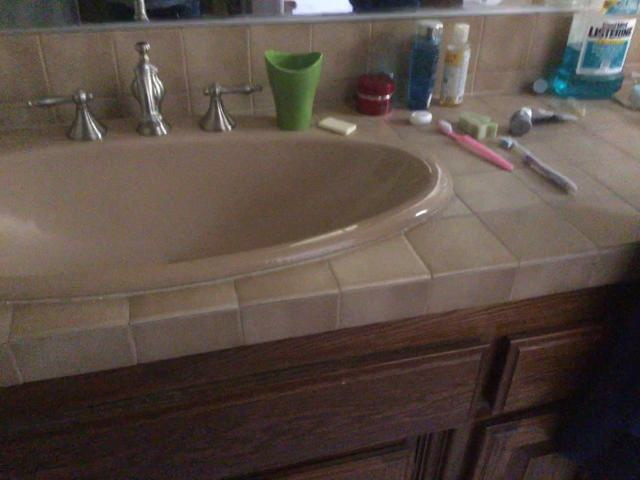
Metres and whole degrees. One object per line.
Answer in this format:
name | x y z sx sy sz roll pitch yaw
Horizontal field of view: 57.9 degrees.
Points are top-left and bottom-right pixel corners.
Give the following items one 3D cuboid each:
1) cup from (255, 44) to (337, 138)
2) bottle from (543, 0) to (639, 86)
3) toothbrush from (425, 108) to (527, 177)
cup | -0.040 -0.240 0.920 0.100 0.110 0.120 -8 32 -14
bottle | 0.550 -0.420 1.080 0.180 0.220 0.110 -8 32 -14
toothbrush | 0.240 -0.160 0.920 0.060 0.030 0.210 -8 32 -14
